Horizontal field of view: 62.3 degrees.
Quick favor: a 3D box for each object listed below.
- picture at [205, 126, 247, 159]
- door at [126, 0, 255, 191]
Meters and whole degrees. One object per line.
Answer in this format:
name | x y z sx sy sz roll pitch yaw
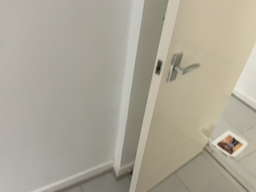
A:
picture | 0.880 0.410 1.900 0.310 0.030 0.220 -21 46 -34
door | 0.430 -0.200 1.010 0.840 1.980 0.030 -21 46 -33
